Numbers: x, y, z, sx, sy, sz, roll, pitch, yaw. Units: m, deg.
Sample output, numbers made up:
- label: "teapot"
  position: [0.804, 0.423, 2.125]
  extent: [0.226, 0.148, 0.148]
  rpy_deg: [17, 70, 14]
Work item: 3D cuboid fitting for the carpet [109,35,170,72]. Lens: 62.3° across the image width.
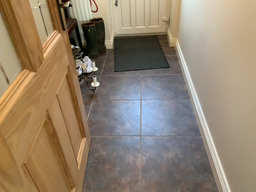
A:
- label: "carpet"
  position: [0.150, -0.600, 2.840]
  extent: [0.700, 0.050, 0.980]
  rpy_deg: [-1, 37, 3]
